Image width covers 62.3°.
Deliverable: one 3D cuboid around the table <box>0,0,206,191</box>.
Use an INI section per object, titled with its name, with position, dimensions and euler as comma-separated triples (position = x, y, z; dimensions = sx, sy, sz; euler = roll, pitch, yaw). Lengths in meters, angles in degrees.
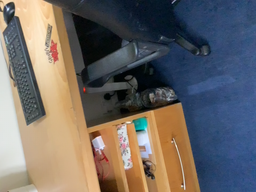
[table]
position = -0.150, -0.070, 1.160
dimensions = 0.550, 0.720, 1.570
euler = -14, 88, 45
